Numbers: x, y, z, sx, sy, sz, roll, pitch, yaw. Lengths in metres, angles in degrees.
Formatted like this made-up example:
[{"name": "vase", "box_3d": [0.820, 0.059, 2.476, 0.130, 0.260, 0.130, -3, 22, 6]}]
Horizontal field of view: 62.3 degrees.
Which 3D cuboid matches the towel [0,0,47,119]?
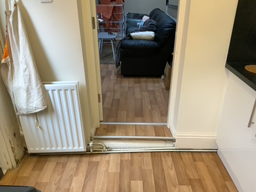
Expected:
[{"name": "towel", "box_3d": [-0.850, -0.270, 1.600, 0.270, 0.920, 0.180, -1, 26, -3]}]
